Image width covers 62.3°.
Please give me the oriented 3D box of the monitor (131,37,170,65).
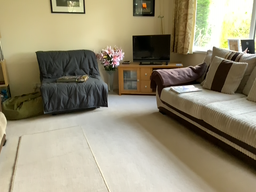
[{"bbox_3d":[0.390,-0.790,3.720,0.670,0.470,0.060,3,18,11],"label":"monitor"}]
